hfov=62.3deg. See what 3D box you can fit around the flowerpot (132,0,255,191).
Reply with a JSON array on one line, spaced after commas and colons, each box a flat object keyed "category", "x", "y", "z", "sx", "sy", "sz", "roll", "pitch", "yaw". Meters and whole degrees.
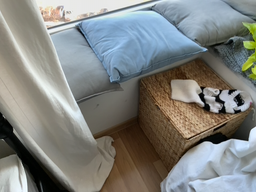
[{"category": "flowerpot", "x": 0.370, "y": -0.090, "z": 0.860, "sx": 0.540, "sy": 1.170, "sz": 0.440, "roll": -26, "pitch": 55, "yaw": -20}]
